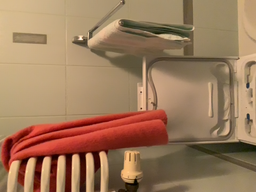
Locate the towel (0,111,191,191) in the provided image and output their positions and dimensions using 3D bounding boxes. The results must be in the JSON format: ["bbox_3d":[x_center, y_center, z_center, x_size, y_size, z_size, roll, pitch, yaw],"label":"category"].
[{"bbox_3d":[-0.100,0.140,0.680,0.280,0.510,0.150,-178,88,-73],"label":"towel"}]
